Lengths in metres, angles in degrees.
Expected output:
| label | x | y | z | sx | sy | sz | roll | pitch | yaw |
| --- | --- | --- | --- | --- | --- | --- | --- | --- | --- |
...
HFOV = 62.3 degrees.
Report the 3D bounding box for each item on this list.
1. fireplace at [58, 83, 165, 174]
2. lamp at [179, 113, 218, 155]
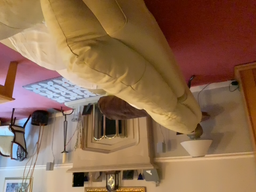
| label | x | y | z | sx | sy | sz | roll | pitch | yaw |
| --- | --- | --- | --- | --- | --- | --- | --- | --- | --- |
| fireplace | -0.270 | 0.590 | 3.400 | 1.480 | 1.180 | 0.640 | -11 | 159 | 22 |
| lamp | 0.880 | 0.490 | 2.650 | 0.360 | 0.440 | 0.300 | -12 | 159 | 25 |
